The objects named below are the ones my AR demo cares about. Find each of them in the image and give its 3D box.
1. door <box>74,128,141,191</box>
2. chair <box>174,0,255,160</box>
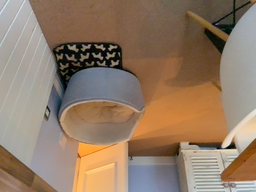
[{"bbox_3d":[-0.250,1.450,1.990,0.880,2.200,0.160,-27,136,32],"label":"door"},{"bbox_3d":[0.490,-0.250,0.770,0.460,0.820,0.440,0,144,0],"label":"chair"}]
